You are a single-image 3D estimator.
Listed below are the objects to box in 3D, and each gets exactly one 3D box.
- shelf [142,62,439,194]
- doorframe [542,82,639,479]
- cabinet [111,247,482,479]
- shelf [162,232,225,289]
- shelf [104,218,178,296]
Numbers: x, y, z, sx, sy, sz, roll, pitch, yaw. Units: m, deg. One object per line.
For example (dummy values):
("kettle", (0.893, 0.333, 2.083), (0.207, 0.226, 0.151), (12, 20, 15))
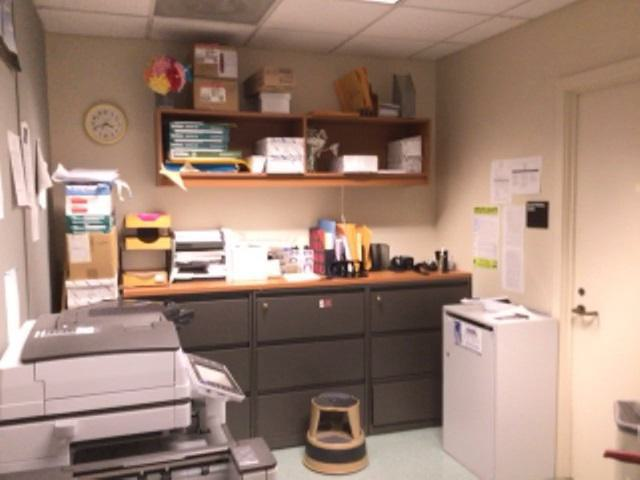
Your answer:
("shelf", (-0.160, -0.690, 3.660), (1.800, 0.710, 0.410), (-4, 4, -18))
("doorframe", (1.400, 0.310, 2.560), (0.120, 1.950, 1.010), (-4, 4, -18))
("cabinet", (-0.100, 0.710, 3.700), (2.240, 1.150, 0.530), (-4, 4, -18))
("shelf", (-0.800, 0.120, 3.630), (0.340, 0.310, 0.300), (-4, 4, -18))
("shelf", (-1.080, 0.090, 3.490), (0.380, 0.420, 0.320), (-4, 4, -18))
